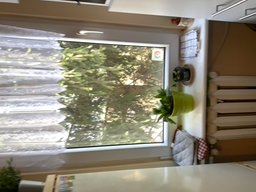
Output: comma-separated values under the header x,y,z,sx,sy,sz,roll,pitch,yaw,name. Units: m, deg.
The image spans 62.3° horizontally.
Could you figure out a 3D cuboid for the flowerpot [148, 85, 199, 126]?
x,y,z,sx,sy,sz,roll,pitch,yaw,name
0.270,0.050,1.310,0.230,0.220,0.220,-164,75,-75,flowerpot
